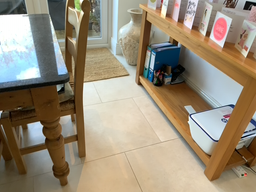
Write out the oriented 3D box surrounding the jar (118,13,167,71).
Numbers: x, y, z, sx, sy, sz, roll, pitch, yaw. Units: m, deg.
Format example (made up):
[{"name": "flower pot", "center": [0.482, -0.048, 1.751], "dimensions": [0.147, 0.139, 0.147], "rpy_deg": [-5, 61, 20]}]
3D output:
[{"name": "jar", "center": [0.150, -0.650, 2.520], "dimensions": [0.400, 0.540, 0.380], "rpy_deg": [-10, 38, -19]}]
